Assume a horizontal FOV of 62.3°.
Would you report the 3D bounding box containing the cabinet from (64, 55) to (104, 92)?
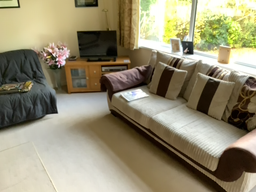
[{"bbox_3d":[-0.770,-0.410,3.850,0.600,0.540,0.450,-1,25,-3],"label":"cabinet"}]
